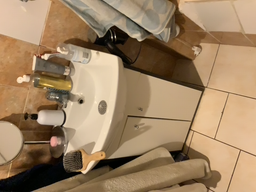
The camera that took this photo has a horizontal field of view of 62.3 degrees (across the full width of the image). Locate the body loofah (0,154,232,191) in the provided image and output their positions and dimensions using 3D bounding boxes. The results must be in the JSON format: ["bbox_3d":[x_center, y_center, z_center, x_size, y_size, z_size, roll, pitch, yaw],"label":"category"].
[{"bbox_3d":[0.050,0.440,0.880,0.190,1.400,0.240,27,101,44],"label":"body loofah"}]
